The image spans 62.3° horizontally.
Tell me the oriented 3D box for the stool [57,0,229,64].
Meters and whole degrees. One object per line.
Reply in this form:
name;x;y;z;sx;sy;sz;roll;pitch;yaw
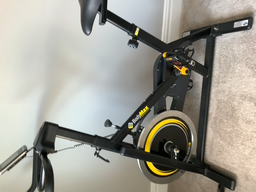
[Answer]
stool;0.120;-0.460;1.170;0.290;0.920;0.460;10;97;61
